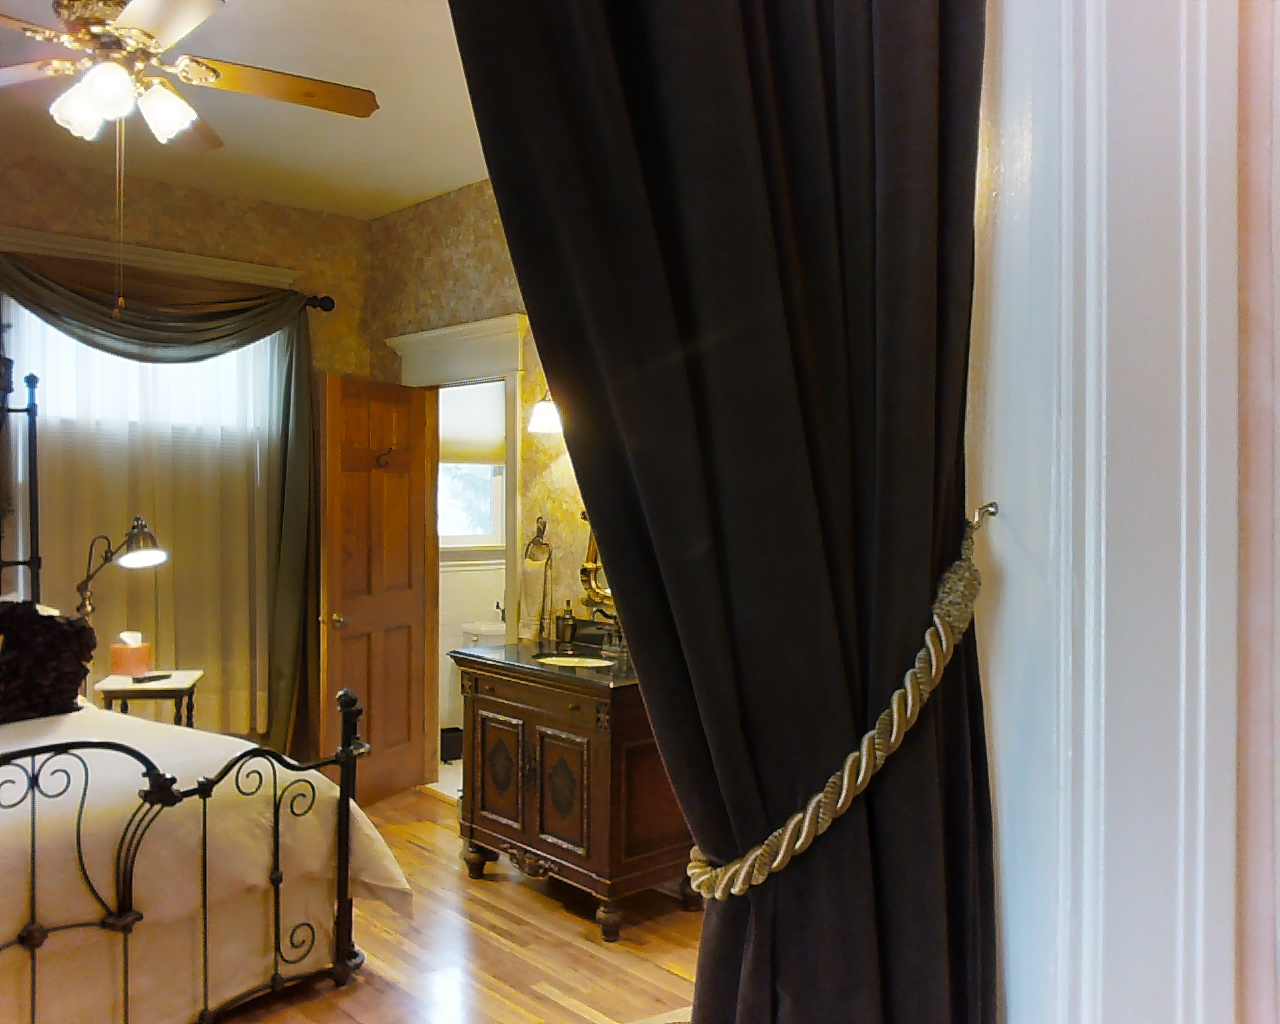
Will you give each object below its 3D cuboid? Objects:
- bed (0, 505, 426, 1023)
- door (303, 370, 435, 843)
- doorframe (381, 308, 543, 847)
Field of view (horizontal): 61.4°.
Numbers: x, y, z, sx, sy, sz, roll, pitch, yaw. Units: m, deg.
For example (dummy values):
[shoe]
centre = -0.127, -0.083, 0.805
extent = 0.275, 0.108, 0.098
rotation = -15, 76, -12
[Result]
[bed]
centre = -2.289, 0.750, 3.220
extent = 2.369, 1.531, 2.210
rotation = 0, 1, 36
[door]
centre = -1.290, 0.420, 5.210
extent = 0.110, 2.111, 0.830
rotation = 0, 1, 25
[doorframe]
centre = -0.900, 0.290, 5.270
extent = 0.140, 2.401, 1.180
rotation = -1, 1, -43
